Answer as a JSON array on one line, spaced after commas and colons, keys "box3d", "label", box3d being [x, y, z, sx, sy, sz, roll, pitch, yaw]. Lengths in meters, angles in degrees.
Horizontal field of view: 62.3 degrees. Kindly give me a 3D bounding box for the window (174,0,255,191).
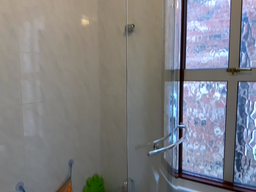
[{"box3d": [0.670, -0.110, 1.360, 0.710, 1.510, 0.090, 3, 7, 30], "label": "window"}]
